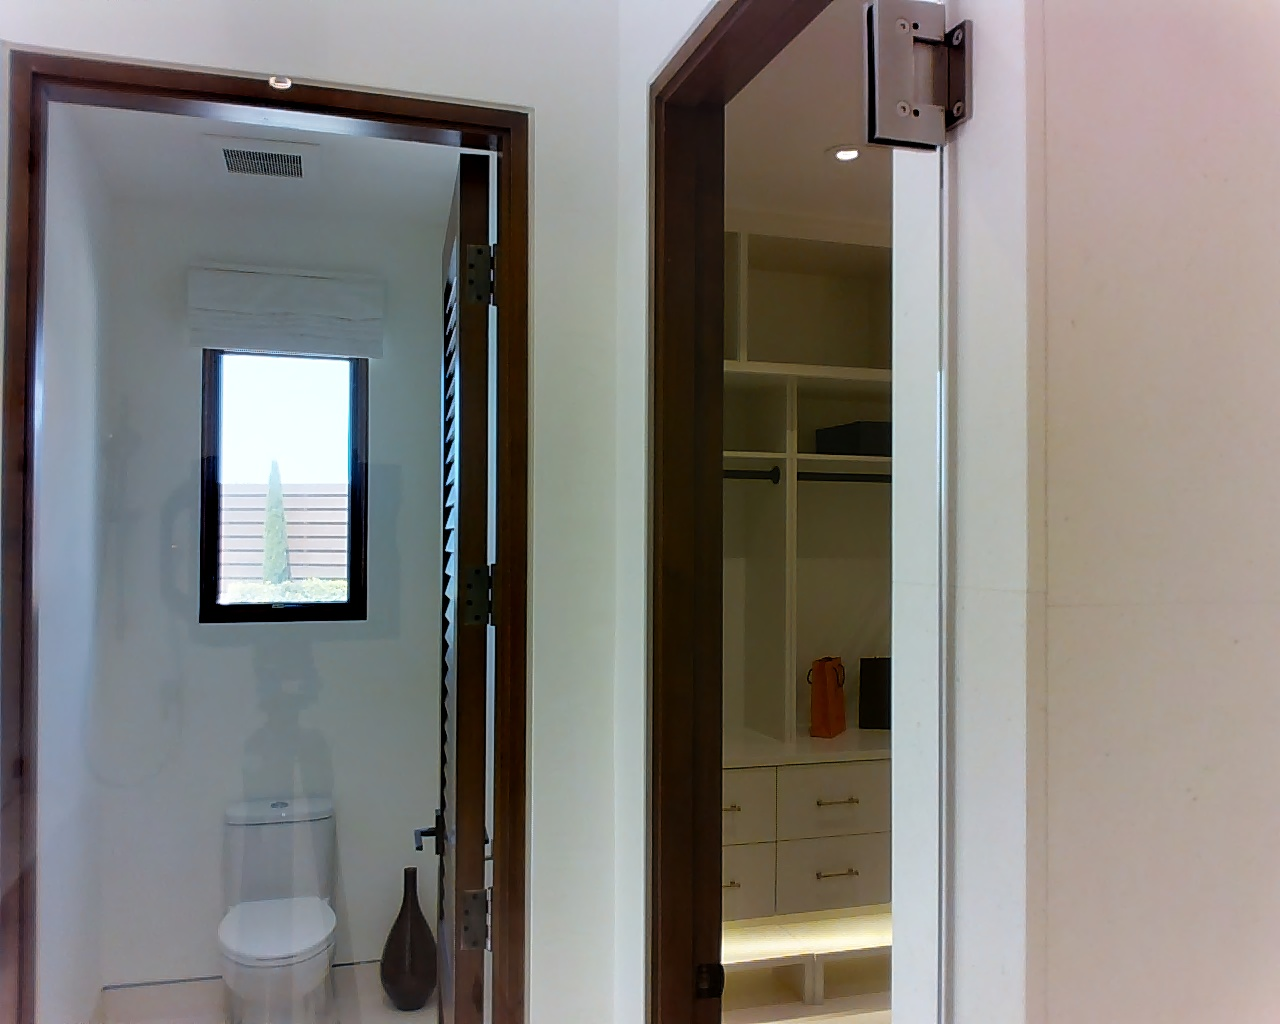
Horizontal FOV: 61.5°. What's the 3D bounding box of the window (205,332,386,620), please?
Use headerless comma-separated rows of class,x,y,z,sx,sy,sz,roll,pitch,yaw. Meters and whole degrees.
window,-1.240,-0.120,3.900,0.600,1.000,0.160,1,-1,-18
